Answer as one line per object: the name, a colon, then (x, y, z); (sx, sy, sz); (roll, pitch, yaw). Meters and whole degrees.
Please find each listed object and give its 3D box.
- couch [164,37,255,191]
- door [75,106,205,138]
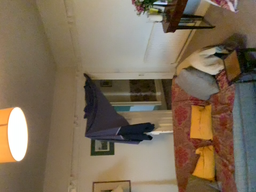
couch: (1.010, 0.440, 2.590); (1.060, 0.740, 1.980); (138, 130, -80)
door: (0.170, 0.420, 3.800); (0.940, 2.090, 0.100); (-112, 22, -70)
